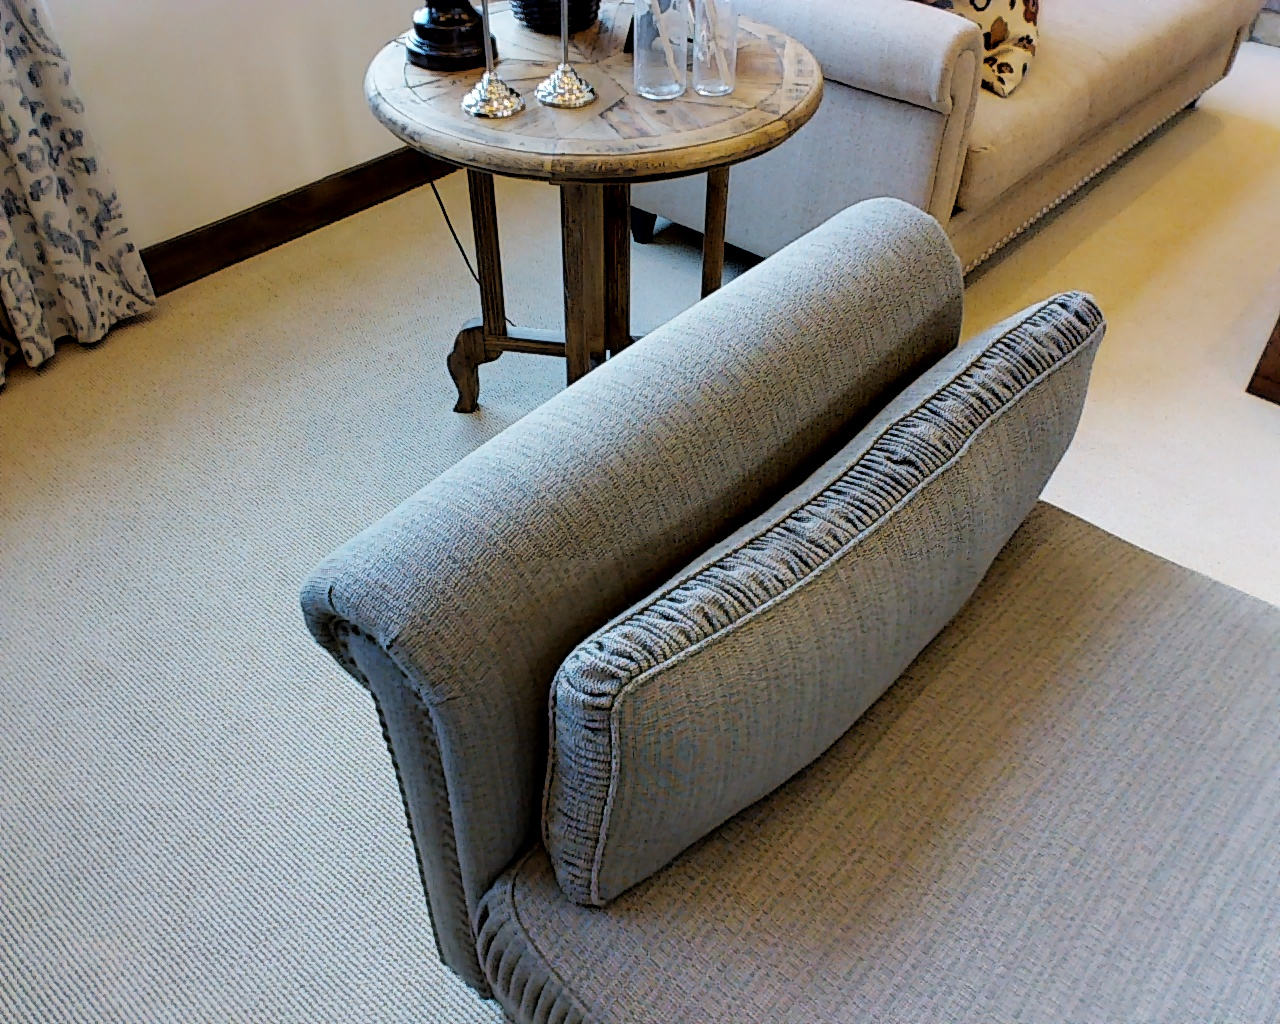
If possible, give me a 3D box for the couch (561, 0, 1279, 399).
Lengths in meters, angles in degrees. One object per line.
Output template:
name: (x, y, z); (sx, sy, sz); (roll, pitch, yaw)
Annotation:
couch: (0.990, -1.440, 3.130); (1.060, 0.930, 2.400); (29, 49, 29)
